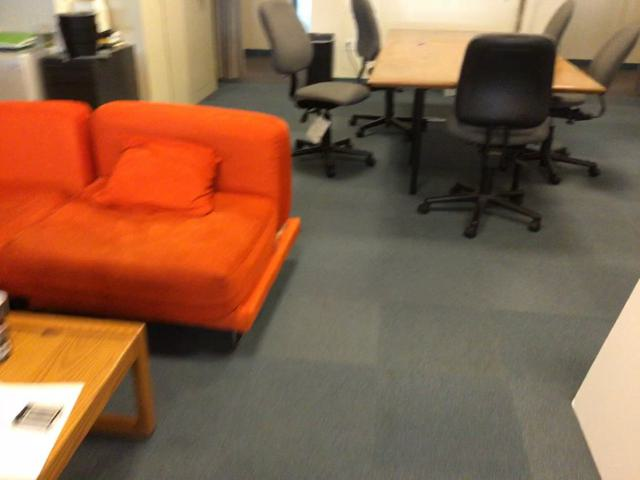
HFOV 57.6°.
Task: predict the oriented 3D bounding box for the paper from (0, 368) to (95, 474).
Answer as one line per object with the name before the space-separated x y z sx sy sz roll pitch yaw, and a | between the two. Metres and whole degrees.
paper | -0.670 0.400 1.320 0.220 0.040 0.300 -1 24 -3
